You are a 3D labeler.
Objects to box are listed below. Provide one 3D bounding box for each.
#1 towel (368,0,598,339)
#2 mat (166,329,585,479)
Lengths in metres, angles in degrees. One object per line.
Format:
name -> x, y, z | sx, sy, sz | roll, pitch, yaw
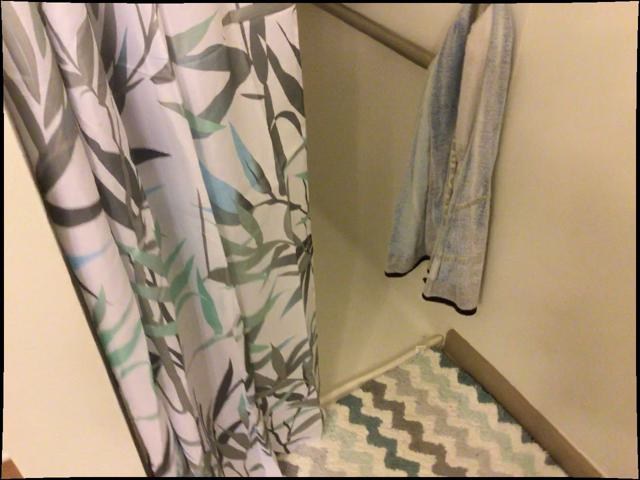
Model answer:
towel -> 0.299, -0.190, 1.290 | 0.170, 0.871, 0.330 | -22, 49, -22
mat -> 0.150, 0.611, 1.390 | 0.869, 0.050, 0.580 | -22, 49, -22
